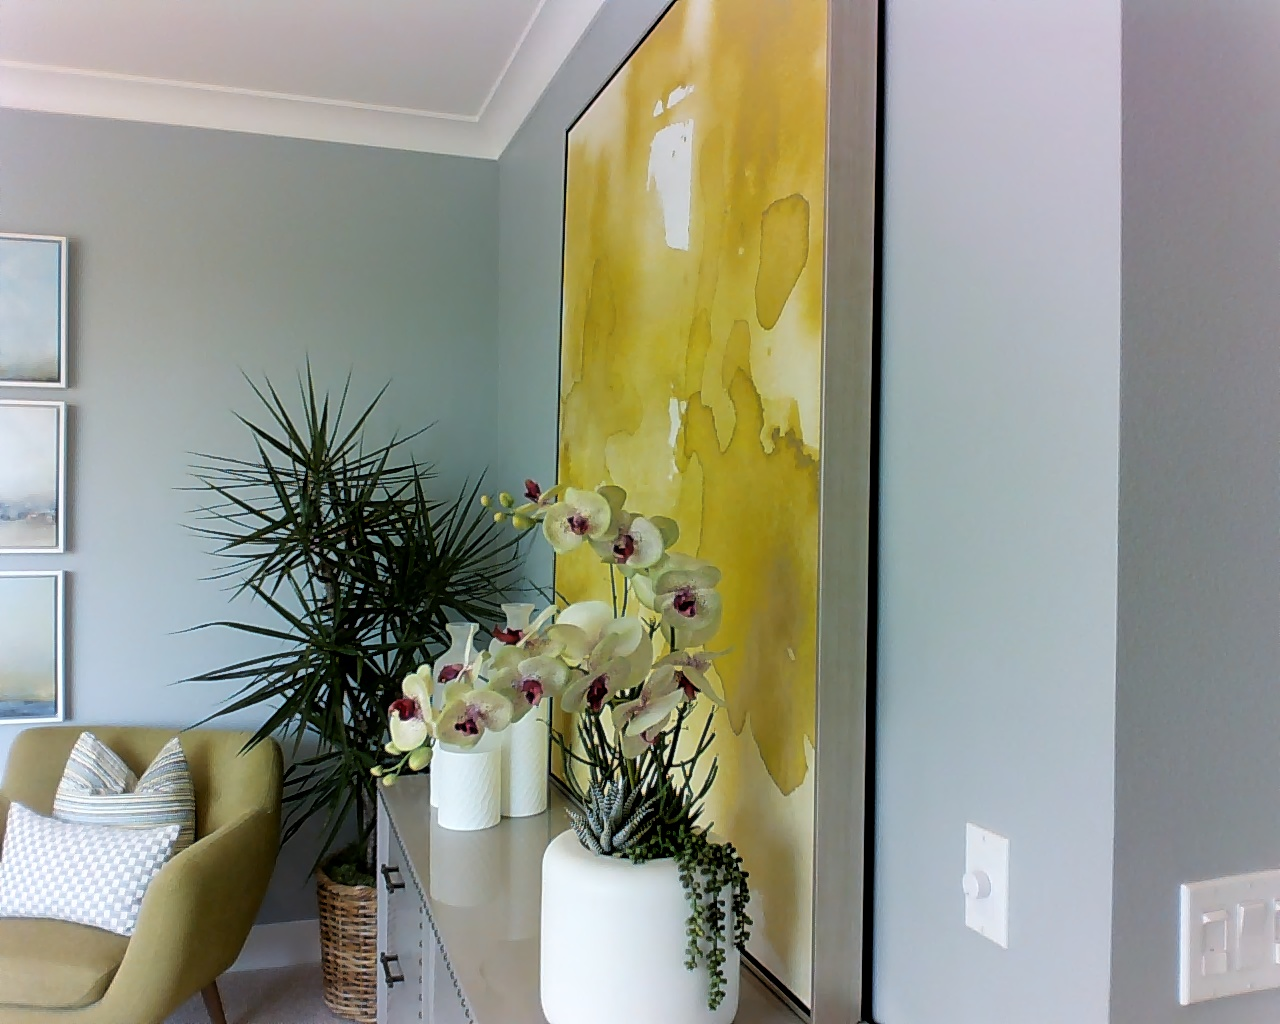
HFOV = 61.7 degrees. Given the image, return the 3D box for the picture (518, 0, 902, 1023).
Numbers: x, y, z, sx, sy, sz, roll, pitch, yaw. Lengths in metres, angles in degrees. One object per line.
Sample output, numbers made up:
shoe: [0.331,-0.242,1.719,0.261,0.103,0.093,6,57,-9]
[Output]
picture: [0.020,-0.100,1.970,0.200,1.601,1.350,0,0,-18]
